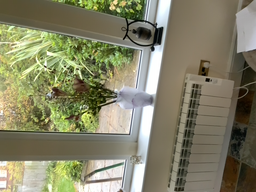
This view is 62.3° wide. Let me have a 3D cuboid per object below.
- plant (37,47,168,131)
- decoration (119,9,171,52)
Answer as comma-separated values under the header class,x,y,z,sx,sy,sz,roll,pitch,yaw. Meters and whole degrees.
class,x,y,z,sx,sy,sz,roll,pitch,yaw
plant,-0.240,-0.070,1.710,0.600,0.840,0.450,-140,59,-64
decoration,0.130,-0.500,1.660,0.170,0.320,0.250,-149,67,-66
